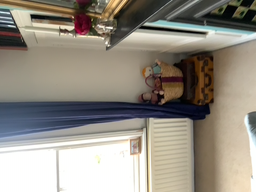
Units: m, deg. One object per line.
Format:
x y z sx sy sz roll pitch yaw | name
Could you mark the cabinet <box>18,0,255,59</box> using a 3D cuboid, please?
0.100 -0.620 1.850 0.880 1.800 0.390 -177 86 -69 | cabinet
